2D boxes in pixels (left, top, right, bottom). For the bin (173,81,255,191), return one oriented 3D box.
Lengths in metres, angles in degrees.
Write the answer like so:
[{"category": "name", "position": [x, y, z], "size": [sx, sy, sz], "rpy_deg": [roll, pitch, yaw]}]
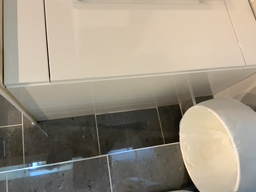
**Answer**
[{"category": "bin", "position": [0.350, 0.140, 0.690], "size": [0.310, 0.240, 0.290], "rpy_deg": [129, 134, -69]}]
